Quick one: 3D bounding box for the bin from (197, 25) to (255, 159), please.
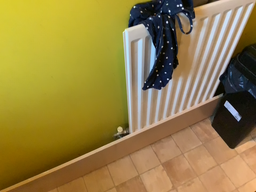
[{"bbox_3d":[0.730,-0.020,1.170,0.410,0.660,0.360,-19,53,-12],"label":"bin"}]
